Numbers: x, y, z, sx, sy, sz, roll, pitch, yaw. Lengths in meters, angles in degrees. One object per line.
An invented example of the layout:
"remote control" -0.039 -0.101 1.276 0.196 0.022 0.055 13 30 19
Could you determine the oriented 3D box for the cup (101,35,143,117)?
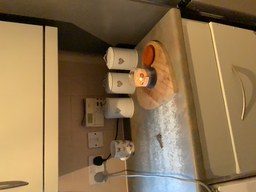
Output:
"cup" -0.040 -0.090 1.080 0.200 0.120 0.360 147 120 -63
